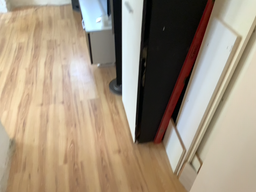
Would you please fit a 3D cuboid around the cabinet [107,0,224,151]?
[{"bbox_3d":[0.150,-0.490,1.200,0.460,1.860,0.530,-7,42,-11],"label":"cabinet"}]
